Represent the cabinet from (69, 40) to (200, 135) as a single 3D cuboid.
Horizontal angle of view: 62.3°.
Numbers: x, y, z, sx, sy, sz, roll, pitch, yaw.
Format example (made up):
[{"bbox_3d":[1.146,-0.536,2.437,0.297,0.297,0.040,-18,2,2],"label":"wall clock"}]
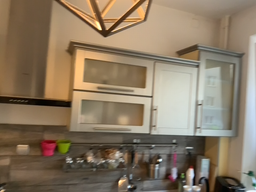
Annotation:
[{"bbox_3d":[0.060,-0.030,1.730,0.980,0.620,0.300,5,-1,-19],"label":"cabinet"}]
